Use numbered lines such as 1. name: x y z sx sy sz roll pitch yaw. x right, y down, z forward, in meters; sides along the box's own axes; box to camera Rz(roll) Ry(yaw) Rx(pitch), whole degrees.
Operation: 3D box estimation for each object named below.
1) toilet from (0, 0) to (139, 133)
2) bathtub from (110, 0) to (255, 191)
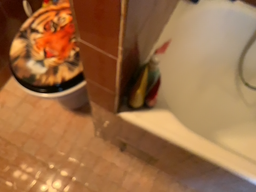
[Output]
1. toilet: -0.250 -0.300 0.980 0.370 0.780 0.660 25 66 6
2. bathtub: 0.670 0.190 0.940 1.340 0.610 0.660 27 66 7
